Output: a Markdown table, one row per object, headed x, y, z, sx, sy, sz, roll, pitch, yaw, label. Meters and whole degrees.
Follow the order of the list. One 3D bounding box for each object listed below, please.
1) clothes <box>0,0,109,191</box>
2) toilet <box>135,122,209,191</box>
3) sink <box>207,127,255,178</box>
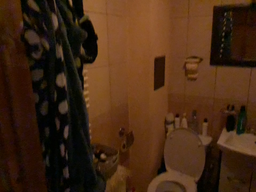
| x | y | z | sx | sy | sz | roll | pitch | yaw | label |
| --- | --- | --- | --- | --- | --- | --- | --- | --- | --- |
| -0.270 | 0.160 | 0.760 | 0.330 | 1.390 | 0.200 | 7 | 18 | 28 | clothes |
| 0.400 | 0.740 | 1.850 | 0.390 | 0.790 | 0.650 | 8 | 18 | 31 | toilet |
| 0.900 | 0.420 | 1.580 | 0.500 | 0.150 | 0.380 | 8 | 18 | 31 | sink |
